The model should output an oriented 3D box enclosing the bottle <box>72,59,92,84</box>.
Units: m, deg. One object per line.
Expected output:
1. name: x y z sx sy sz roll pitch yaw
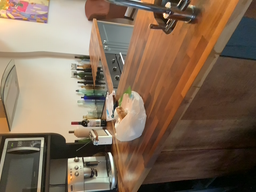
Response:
1. bottle: -0.640 -0.340 2.910 0.440 0.230 0.070 -107 26 -43
